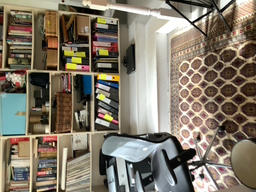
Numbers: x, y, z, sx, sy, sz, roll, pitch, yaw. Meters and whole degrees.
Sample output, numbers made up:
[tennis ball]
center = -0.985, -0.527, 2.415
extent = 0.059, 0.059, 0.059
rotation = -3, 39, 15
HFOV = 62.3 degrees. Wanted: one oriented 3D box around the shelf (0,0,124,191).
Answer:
[shelf]
center = -1.010, 0.110, 2.890
extent = 0.310, 1.860, 2.630
rotation = 165, 105, -69
